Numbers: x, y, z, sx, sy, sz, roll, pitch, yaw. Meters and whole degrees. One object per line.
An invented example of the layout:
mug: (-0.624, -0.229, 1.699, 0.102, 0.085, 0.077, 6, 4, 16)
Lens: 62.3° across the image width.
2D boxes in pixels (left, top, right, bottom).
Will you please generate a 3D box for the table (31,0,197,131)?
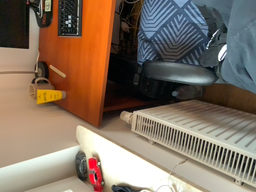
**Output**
table: (-0.070, -0.540, 1.370, 0.690, 0.780, 1.220, 18, 107, 39)

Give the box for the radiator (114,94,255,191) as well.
radiator: (0.430, 0.150, 1.060, 0.740, 0.660, 0.130, 15, 105, 40)

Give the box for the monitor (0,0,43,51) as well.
monitor: (-0.630, -0.510, 1.110, 0.030, 0.360, 0.500, 18, 104, 41)
